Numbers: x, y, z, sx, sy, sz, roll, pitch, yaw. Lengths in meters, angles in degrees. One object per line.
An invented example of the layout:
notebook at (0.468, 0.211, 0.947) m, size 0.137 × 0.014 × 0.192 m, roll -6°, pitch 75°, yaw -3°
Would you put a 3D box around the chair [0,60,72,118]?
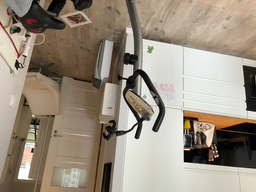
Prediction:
chair at (-1.620, -0.080, 3.810) m, size 0.770 × 0.780 × 0.840 m, roll -1°, pitch 161°, yaw 17°
